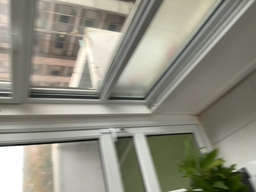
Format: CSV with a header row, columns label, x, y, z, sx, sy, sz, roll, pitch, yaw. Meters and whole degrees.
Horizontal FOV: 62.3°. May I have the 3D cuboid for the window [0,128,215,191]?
label,x,y,z,sx,sy,sz,roll,pitch,yaw
window,-0.130,0.560,1.660,0.100,1.880,0.530,-54,43,49

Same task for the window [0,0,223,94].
label,x,y,z,sx,sy,sz,roll,pitch,yaw
window,0.080,-0.960,0.470,3.200,1.540,0.130,-55,42,48
